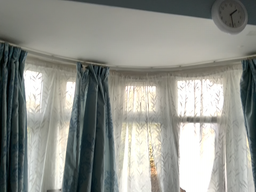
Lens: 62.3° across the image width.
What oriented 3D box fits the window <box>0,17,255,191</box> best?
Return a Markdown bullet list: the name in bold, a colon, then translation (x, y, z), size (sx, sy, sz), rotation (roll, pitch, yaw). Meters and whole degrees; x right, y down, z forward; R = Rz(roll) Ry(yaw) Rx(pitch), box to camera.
- **window**: translation (-0.180, 0.450, 1.590), size (2.420, 1.580, 0.840), rotation (3, -8, -16)
